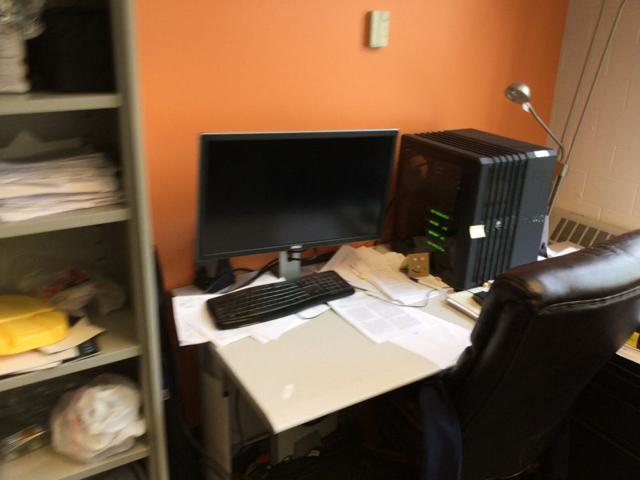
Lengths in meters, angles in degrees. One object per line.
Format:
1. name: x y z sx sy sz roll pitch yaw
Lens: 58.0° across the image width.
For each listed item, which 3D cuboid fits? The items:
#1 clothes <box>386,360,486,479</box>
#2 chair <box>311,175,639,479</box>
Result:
1. clothes: 0.280 0.630 1.510 0.110 0.590 0.190 -7 21 -32
2. chair: 0.450 0.420 1.640 0.630 1.060 0.690 -7 21 -32
